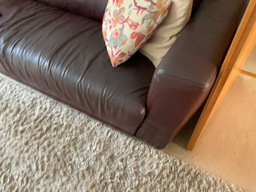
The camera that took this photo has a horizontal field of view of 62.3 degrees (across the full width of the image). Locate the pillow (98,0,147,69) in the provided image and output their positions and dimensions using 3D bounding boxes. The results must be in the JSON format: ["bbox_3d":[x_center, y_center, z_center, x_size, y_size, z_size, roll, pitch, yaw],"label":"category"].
[{"bbox_3d":[-0.050,-0.420,1.090,0.100,0.400,0.440,2,33,-19],"label":"pillow"}]
